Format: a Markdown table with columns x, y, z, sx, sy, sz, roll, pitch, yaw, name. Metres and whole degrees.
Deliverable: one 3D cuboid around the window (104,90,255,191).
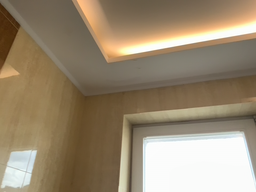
| x | y | z | sx | sy | sz | roll | pitch | yaw | name |
| --- | --- | --- | --- | --- | --- | --- | --- | --- | --- |
| 0.340 | 0.720 | 1.070 | 0.970 | 1.520 | 0.170 | -8 | -32 | 17 | window |
